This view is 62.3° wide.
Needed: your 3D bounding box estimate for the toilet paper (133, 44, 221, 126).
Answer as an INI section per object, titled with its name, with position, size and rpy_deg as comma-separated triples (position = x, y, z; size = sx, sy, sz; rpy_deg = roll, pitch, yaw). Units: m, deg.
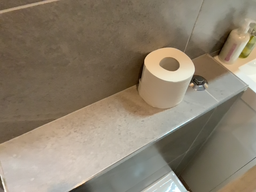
[toilet paper]
position = 0.120, -0.030, 0.550
size = 0.180, 0.120, 0.100
rpy_deg = -26, 59, -23
